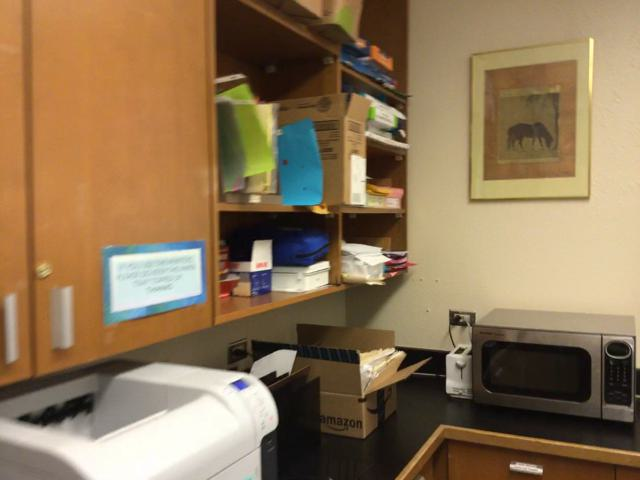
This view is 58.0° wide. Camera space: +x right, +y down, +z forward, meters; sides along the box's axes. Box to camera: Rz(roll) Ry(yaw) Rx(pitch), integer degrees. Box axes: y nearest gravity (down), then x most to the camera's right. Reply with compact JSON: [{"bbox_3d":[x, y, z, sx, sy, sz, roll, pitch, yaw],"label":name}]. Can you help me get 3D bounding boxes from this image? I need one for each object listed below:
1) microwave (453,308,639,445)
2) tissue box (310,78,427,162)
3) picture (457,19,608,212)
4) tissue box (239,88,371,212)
[{"bbox_3d":[0.850,0.450,2.060,0.630,0.340,0.470,-2,0,27],"label":"microwave"},{"bbox_3d":[0.210,-0.450,2.280,0.250,0.200,0.580,-2,0,28],"label":"tissue box"},{"bbox_3d":[0.820,-0.460,2.260,0.530,0.670,0.090,-2,0,27],"label":"picture"},{"bbox_3d":[-0.050,-0.270,1.850,0.380,0.340,0.160,-2,0,28],"label":"tissue box"}]
